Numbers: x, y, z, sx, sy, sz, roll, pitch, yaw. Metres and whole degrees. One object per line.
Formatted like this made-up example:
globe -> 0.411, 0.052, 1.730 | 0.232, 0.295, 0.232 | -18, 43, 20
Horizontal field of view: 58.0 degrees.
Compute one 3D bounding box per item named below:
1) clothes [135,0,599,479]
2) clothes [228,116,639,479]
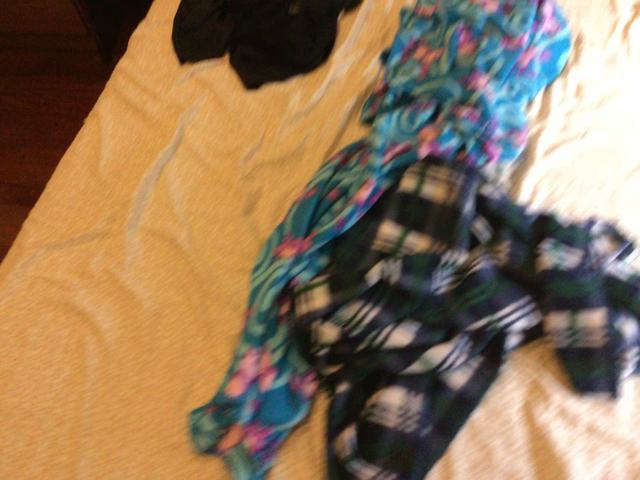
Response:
clothes -> 0.150, -0.210, 0.990 | 0.530, 0.120, 1.110 | 7, 58, 11
clothes -> 0.220, 0.110, 0.780 | 0.540, 0.120, 0.590 | 7, 58, 11
